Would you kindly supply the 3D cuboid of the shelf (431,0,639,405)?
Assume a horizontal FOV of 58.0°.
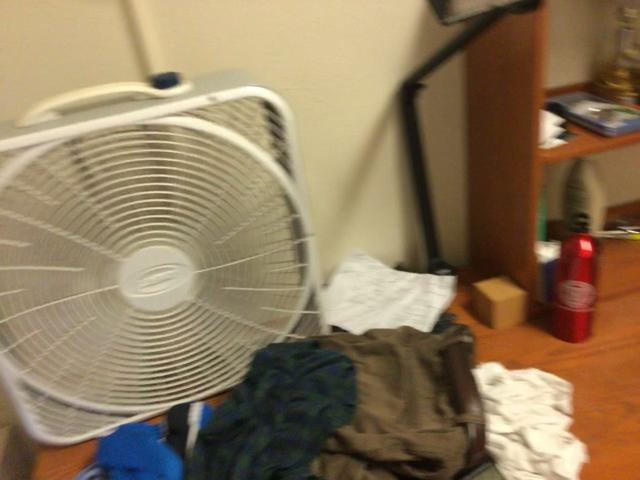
[{"bbox_3d":[0.750,-0.270,1.000,0.970,0.730,0.470,-14,30,-6],"label":"shelf"}]
